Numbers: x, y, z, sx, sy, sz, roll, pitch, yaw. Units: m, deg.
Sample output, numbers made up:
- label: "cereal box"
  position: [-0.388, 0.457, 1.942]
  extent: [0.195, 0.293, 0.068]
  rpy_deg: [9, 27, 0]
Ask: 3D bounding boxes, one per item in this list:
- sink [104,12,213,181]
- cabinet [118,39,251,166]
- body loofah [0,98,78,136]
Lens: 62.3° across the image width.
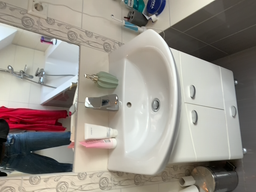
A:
- label: "sink"
  position: [0.100, 0.030, 0.960]
  extent: [0.440, 0.200, 0.600]
  rpy_deg: [-17, 68, 51]
- label: "cabinet"
  position: [0.340, 0.090, 1.220]
  extent: [0.310, 0.750, 0.540]
  rpy_deg: [-17, 68, 51]
- label: "body loofah"
  position: [-1.340, 0.290, 2.750]
  extent: [0.300, 1.320, 0.400]
  rpy_deg: [-19, 68, 50]
